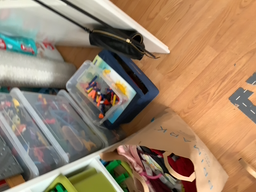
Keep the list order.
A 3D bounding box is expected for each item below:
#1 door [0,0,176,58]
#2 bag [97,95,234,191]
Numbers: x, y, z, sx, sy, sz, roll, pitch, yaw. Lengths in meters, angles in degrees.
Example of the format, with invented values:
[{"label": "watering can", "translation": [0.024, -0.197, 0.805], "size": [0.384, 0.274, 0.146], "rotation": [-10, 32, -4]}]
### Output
[{"label": "door", "translation": [-0.550, -0.300, 0.340], "size": [0.760, 2.210, 0.050], "rotation": [11, 95, 25]}, {"label": "bag", "translation": [0.190, 0.230, 0.910], "size": [0.230, 0.460, 0.430], "rotation": [-48, 72, 18]}]
